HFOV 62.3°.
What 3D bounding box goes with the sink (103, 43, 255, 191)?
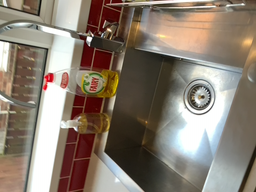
[{"bbox_3d":[0.140,0.080,0.750,0.490,0.130,0.460,26,106,49],"label":"sink"}]
